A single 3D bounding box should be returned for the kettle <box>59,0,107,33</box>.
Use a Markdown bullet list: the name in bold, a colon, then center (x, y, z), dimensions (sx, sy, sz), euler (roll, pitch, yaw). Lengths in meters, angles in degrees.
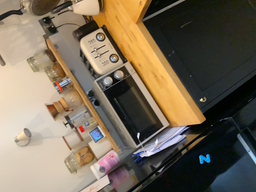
- **kettle**: center (-0.260, -0.530, 1.180), dimensions (0.240, 0.160, 0.200), euler (57, 163, 5)
